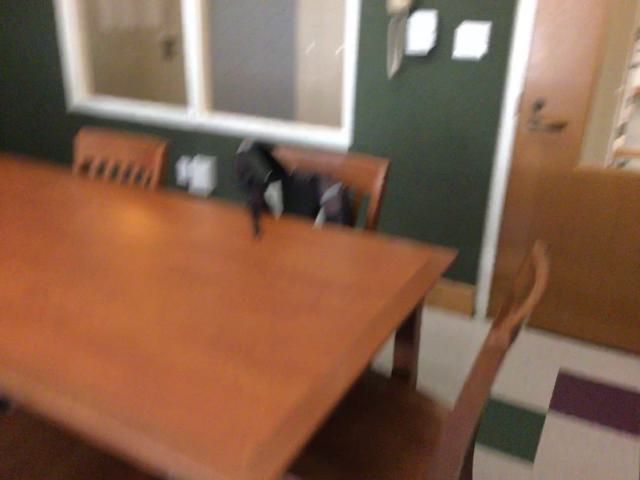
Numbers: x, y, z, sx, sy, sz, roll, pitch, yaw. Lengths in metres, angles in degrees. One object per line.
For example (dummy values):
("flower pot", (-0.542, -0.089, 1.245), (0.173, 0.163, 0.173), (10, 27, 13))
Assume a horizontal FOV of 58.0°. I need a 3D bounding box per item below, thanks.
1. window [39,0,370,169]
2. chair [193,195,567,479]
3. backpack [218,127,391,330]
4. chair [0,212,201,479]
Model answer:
("window", (-0.680, -1.170, 2.900), (1.950, 1.330, 0.180), (13, 26, 26))
("chair", (0.140, 0.440, 1.310), (0.560, 0.880, 0.540), (13, 26, 26))
("backpack", (-0.040, -0.050, 1.800), (0.440, 0.510, 0.290), (8, 24, 15))
("chair", (-0.640, 0.490, 1.180), (0.470, 0.880, 0.610), (19, 29, 35))
